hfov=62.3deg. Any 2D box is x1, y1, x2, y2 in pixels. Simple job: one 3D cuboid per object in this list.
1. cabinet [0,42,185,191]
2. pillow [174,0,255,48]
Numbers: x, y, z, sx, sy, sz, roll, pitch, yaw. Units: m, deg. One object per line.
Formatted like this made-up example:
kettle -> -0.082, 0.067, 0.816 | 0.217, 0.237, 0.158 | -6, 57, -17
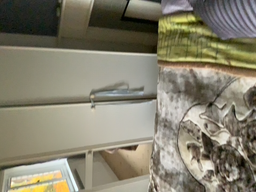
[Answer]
cabinet -> -0.580, 0.640, 2.270 | 0.610, 2.180, 2.270 | 27, 116, 61
pillow -> 0.410, -0.310, 0.810 | 0.360, 0.270, 0.140 | 16, 130, 62
